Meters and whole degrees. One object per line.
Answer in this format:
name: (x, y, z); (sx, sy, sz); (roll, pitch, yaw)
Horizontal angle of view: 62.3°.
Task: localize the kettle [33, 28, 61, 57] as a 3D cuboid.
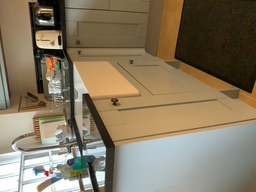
kettle: (-0.740, -0.490, 1.940); (0.170, 0.220, 0.220); (-129, 40, -55)
